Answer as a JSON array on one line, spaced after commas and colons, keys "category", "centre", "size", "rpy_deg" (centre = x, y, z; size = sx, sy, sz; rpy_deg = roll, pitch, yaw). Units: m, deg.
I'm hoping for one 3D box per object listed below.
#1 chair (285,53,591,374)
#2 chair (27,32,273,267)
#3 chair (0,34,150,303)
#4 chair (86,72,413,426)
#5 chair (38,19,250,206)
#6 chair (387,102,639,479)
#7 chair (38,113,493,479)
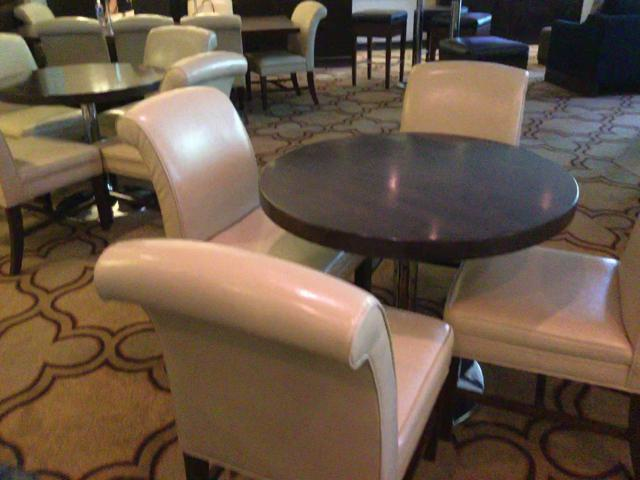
[{"category": "chair", "centre": [0.430, -0.170, 2.290], "size": [0.890, 0.920, 0.850], "rpy_deg": [6, 29, 12]}, {"category": "chair", "centre": [-0.810, -0.510, 2.990], "size": [0.860, 0.930, 0.680], "rpy_deg": [12, 31, 23]}, {"category": "chair", "centre": [-1.480, -0.400, 2.740], "size": [0.840, 0.940, 0.810], "rpy_deg": [12, 31, 23]}, {"category": "chair", "centre": [-0.190, -0.020, 2.010], "size": [0.820, 0.920, 0.590], "rpy_deg": [12, 31, 23]}, {"category": "chair", "centre": [-1.030, -0.850, 3.680], "size": [0.860, 0.920, 0.860], "rpy_deg": [5, 29, 11]}, {"category": "chair", "centre": [0.700, 0.150, 1.670], "size": [0.890, 0.900, 0.600], "rpy_deg": [6, 30, 13]}, {"category": "chair", "centre": [-0.010, 0.310, 1.350], "size": [0.550, 0.950, 0.820], "rpy_deg": [12, 31, 22]}]
